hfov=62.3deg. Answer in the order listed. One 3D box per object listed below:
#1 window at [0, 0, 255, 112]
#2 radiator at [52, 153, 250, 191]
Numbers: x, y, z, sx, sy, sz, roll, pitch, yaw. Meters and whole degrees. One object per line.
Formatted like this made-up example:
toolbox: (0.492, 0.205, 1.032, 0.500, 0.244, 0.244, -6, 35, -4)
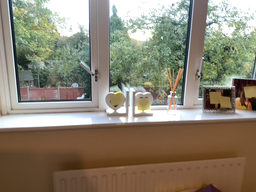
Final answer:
window: (0.150, -0.470, 1.280, 1.700, 1.130, 0.070, 0, 14, -9)
radiator: (0.150, 0.620, 1.260, 1.110, 0.500, 0.110, -1, 14, -9)
